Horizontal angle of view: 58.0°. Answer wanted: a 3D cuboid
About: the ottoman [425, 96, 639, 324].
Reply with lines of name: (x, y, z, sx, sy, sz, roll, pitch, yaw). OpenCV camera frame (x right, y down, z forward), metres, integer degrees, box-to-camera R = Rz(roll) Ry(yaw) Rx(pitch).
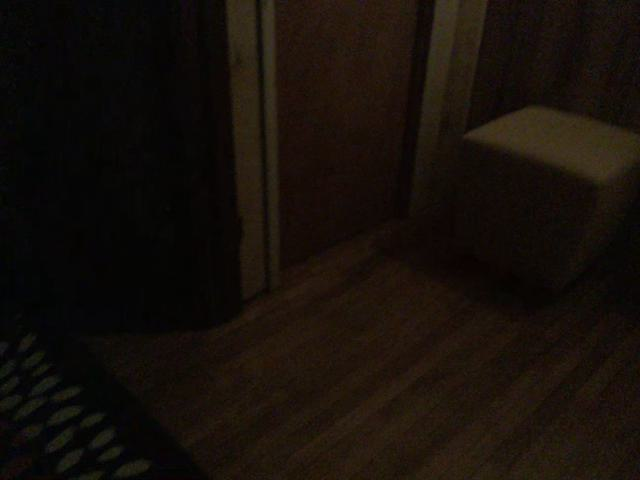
ottoman: (0.810, -0.150, 2.140, 0.500, 0.580, 0.560, -20, 36, -38)

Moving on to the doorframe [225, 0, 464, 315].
doorframe: (0.130, -0.820, 1.810, 0.920, 2.100, 0.140, -20, 36, -38)
